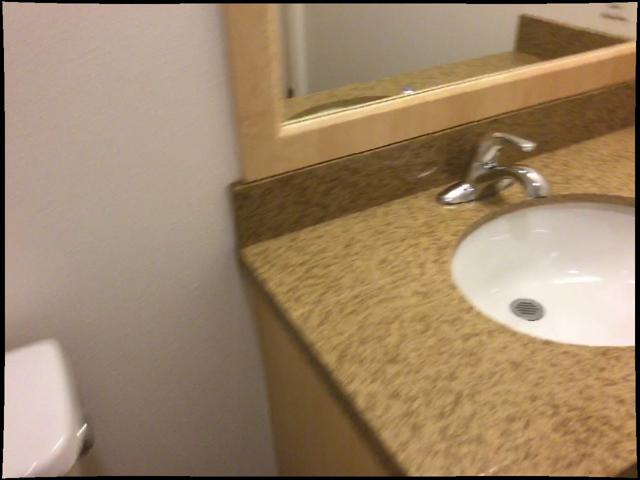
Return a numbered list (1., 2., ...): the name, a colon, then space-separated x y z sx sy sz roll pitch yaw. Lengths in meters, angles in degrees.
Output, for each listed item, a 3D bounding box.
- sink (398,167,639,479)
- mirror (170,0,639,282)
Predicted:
1. sink: 0.399 0.100 0.880 0.419 0.180 0.370 -20 38 -19
2. mirror: 0.329 -0.321 0.990 1.108 0.481 0.060 -20 38 -19
